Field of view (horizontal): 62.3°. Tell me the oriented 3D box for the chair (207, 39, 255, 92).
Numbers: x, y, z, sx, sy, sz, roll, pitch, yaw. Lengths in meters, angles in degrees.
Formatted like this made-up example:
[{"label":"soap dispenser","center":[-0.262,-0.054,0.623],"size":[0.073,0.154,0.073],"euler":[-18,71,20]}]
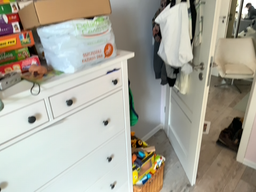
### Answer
[{"label":"chair","center":[1.930,-0.580,3.780],"size":[0.770,0.710,0.790],"euler":[2,27,8]}]
